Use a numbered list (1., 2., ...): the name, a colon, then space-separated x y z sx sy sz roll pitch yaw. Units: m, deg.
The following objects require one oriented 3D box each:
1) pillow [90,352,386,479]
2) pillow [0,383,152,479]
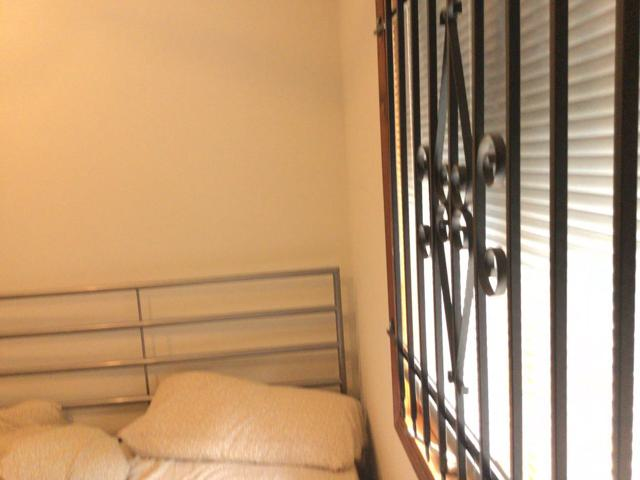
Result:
1. pillow: -0.270 0.660 2.070 0.900 0.270 0.540 -4 8 -6
2. pillow: -1.000 0.720 1.920 0.740 0.180 0.660 -4 8 -7
